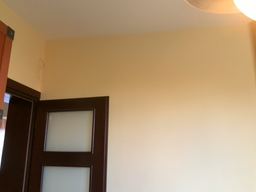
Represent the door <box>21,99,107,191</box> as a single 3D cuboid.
[{"bbox_3d":[-0.550,1.030,1.720,0.700,2.010,0.090,-2,-13,9],"label":"door"}]
